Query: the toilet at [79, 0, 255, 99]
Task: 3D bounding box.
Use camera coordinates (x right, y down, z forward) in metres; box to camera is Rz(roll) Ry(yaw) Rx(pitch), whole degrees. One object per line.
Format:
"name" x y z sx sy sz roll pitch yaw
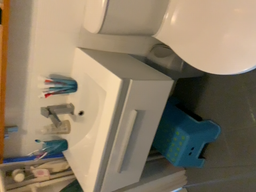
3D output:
"toilet" 0.330 -0.330 0.940 0.690 0.820 0.370 39 122 44
